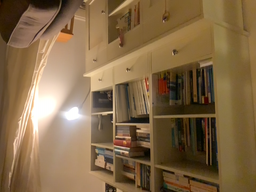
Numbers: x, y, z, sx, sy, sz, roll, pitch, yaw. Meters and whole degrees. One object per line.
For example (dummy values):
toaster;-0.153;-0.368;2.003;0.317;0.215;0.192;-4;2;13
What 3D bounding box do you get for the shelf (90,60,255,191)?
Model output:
shelf;0.160;0.340;1.670;0.350;0.880;1.480;3;173;-33
